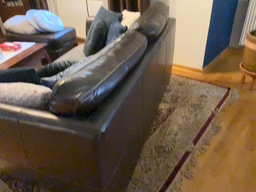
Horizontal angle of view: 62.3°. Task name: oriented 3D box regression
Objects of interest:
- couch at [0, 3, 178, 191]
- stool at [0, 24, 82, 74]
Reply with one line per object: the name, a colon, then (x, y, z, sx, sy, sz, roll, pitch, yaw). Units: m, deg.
couch: (-0.290, -0.120, 1.730, 1.040, 0.870, 1.810, 9, 35, 18)
stool: (-1.240, -0.720, 3.110, 0.840, 0.470, 0.600, 10, 35, 19)
